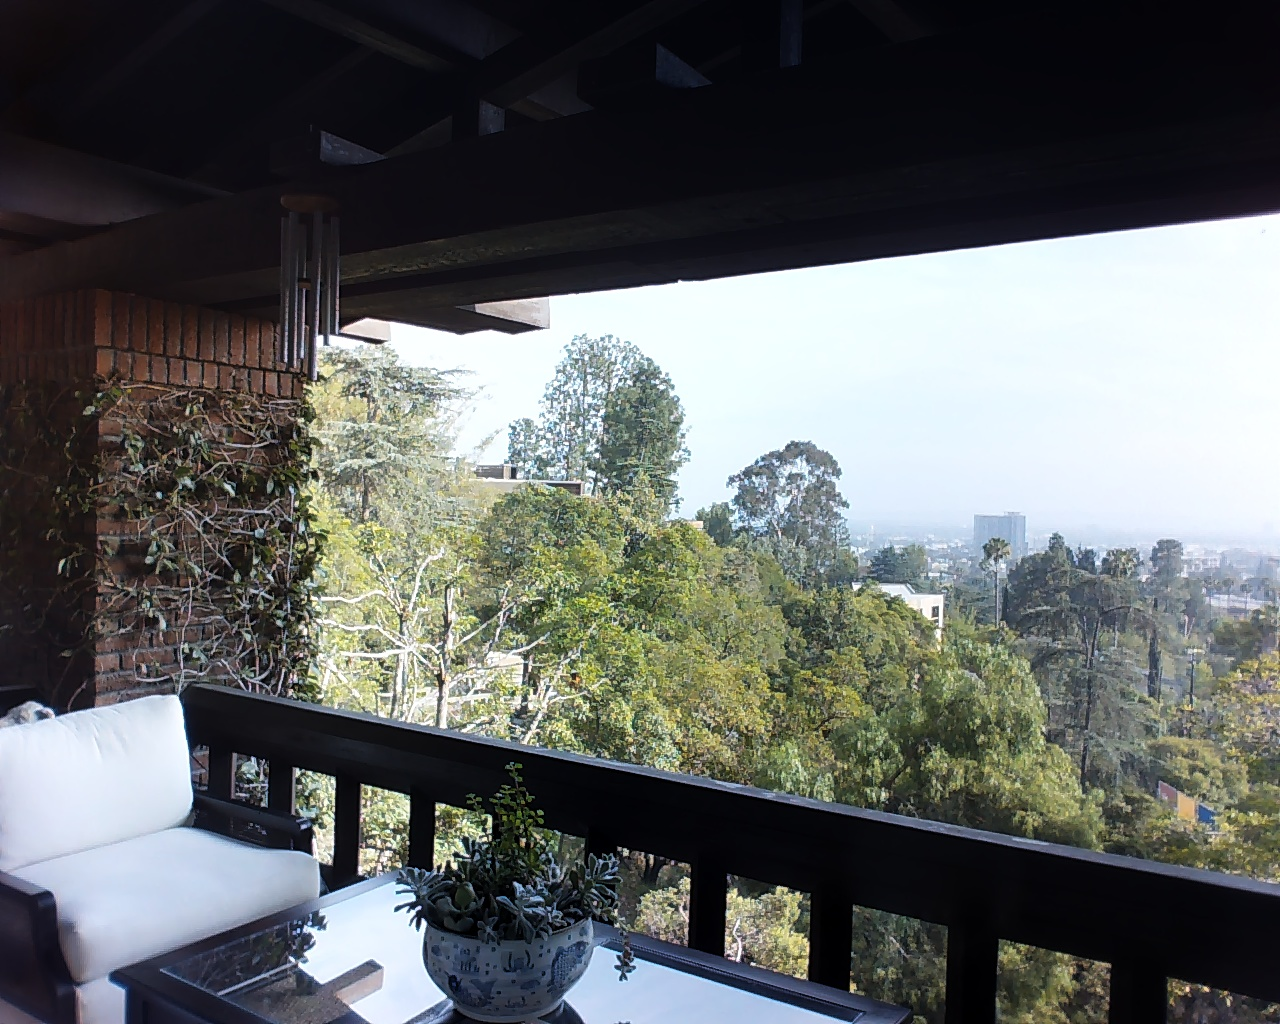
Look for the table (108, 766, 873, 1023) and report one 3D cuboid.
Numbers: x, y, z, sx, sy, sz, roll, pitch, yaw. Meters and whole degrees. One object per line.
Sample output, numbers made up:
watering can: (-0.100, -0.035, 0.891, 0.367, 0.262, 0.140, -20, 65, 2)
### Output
table: (-0.390, 1.110, 2.280, 1.590, 0.780, 0.630, 1, 1, 35)
